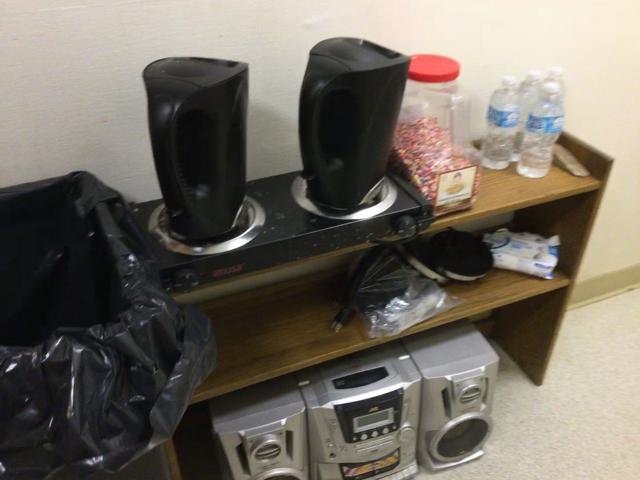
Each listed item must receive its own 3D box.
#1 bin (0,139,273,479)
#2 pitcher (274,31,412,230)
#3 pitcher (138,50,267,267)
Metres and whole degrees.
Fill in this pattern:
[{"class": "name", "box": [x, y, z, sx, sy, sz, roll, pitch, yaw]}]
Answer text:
[{"class": "bin", "box": [-0.410, 0.360, 0.970, 0.520, 0.820, 0.550, -13, 38, -19]}, {"class": "pitcher", "box": [0.030, -0.180, 0.950, 0.170, 0.270, 0.130, -13, 38, -19]}, {"class": "pitcher", "box": [-0.170, -0.120, 0.870, 0.140, 0.280, 0.120, -13, 39, -19]}]
